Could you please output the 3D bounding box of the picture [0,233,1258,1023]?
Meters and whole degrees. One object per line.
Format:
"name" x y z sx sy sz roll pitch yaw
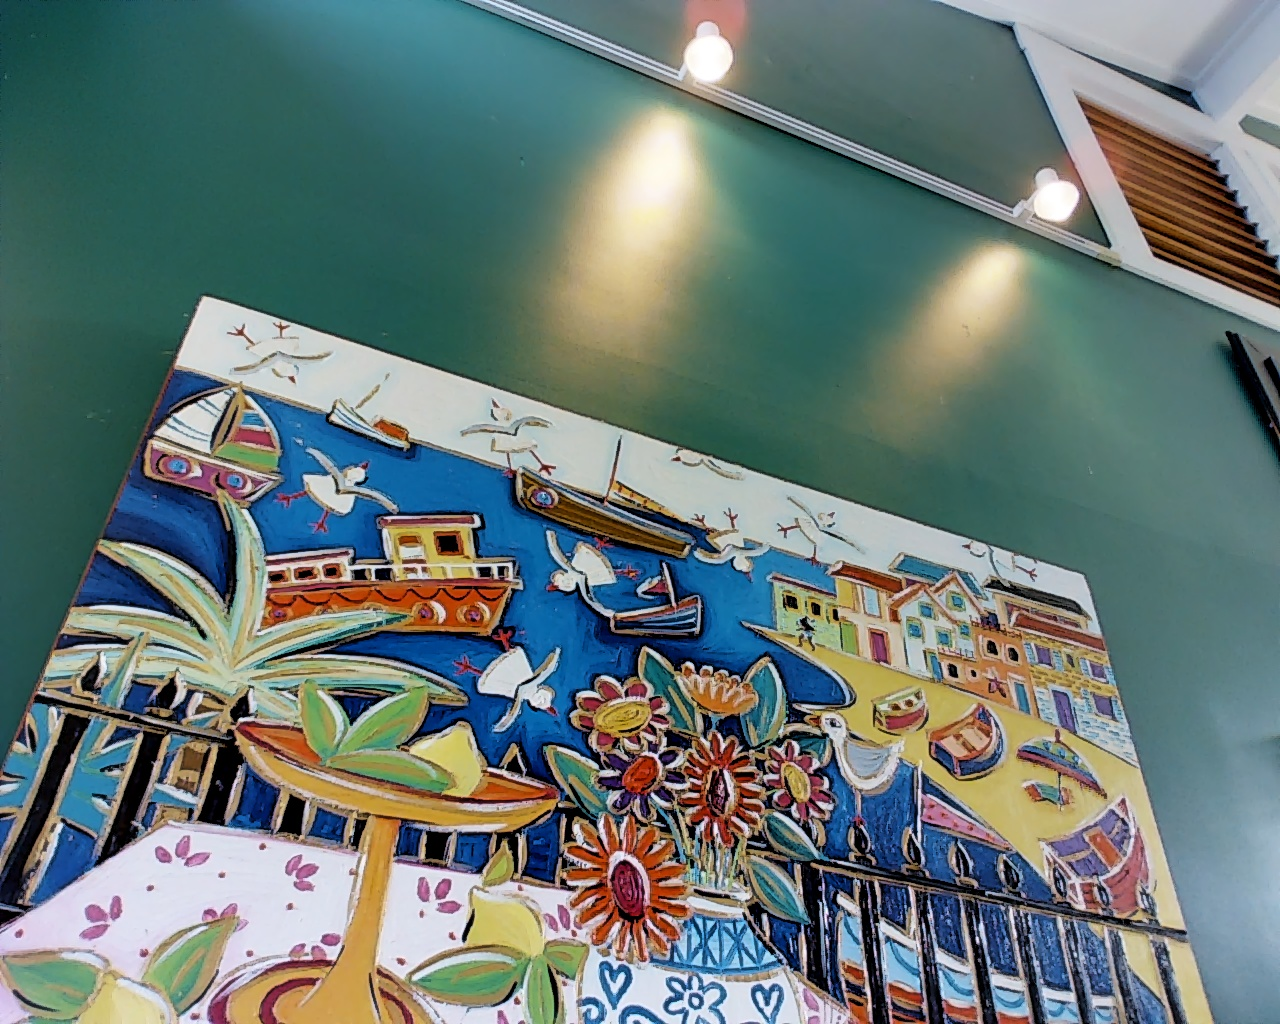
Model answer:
"picture" 0.070 0.290 1.250 1.439 1.180 0.070 16 -43 -17
